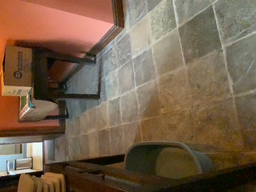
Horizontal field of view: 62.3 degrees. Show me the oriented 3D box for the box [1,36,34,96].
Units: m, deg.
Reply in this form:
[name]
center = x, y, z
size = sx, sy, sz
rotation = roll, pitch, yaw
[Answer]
[box]
center = -1.300, -0.320, 2.490
size = 0.450, 0.280, 0.550
rotation = -23, 69, 53
